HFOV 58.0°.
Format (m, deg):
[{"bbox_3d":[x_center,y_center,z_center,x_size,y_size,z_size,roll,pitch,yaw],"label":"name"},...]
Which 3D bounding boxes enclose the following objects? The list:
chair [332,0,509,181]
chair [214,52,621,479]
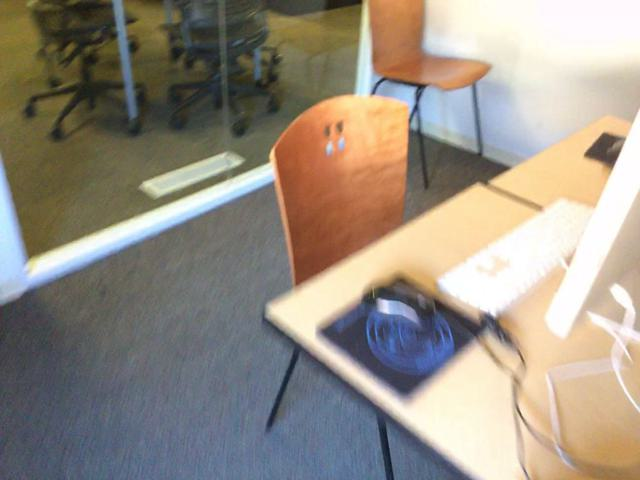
[{"bbox_3d":[0.440,-0.810,2.650,0.530,0.820,0.510,-27,44,-36],"label":"chair"},{"bbox_3d":[0.160,0.100,1.330,0.480,0.830,0.600,-27,44,-36],"label":"chair"}]
